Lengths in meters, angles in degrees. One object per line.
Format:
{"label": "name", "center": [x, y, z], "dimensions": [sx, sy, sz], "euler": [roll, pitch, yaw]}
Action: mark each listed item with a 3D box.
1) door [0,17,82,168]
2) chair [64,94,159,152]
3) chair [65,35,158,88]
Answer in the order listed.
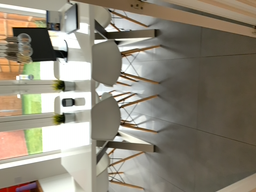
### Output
{"label": "door", "center": [-1.760, -0.050, 3.430], "dimensions": [0.120, 2.010, 2.310], "euler": [7, 99, 56]}
{"label": "chair", "center": [-0.160, 0.210, 2.090], "dimensions": [0.510, 0.770, 0.400], "euler": [6, 98, 56]}
{"label": "chair", "center": [-0.160, -0.300, 2.060], "dimensions": [0.490, 0.750, 0.410], "euler": [6, 98, 56]}
